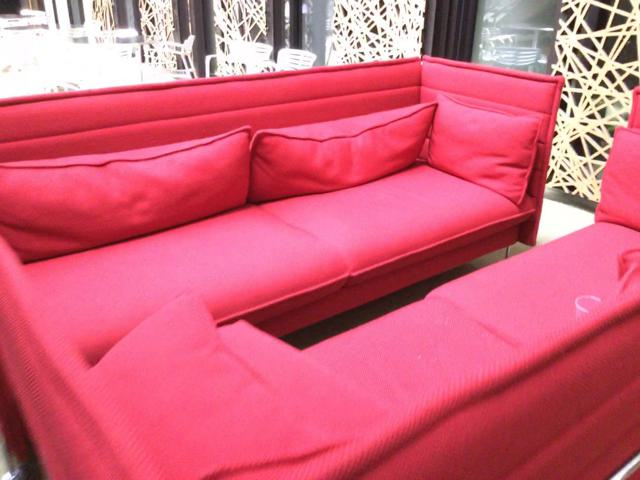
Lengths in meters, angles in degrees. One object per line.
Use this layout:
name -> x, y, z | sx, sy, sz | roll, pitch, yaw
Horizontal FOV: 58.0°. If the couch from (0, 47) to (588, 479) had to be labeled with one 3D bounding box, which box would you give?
couch -> -0.110, -0.200, 2.320 | 2.450, 0.880, 0.930 | -17, 28, -33
